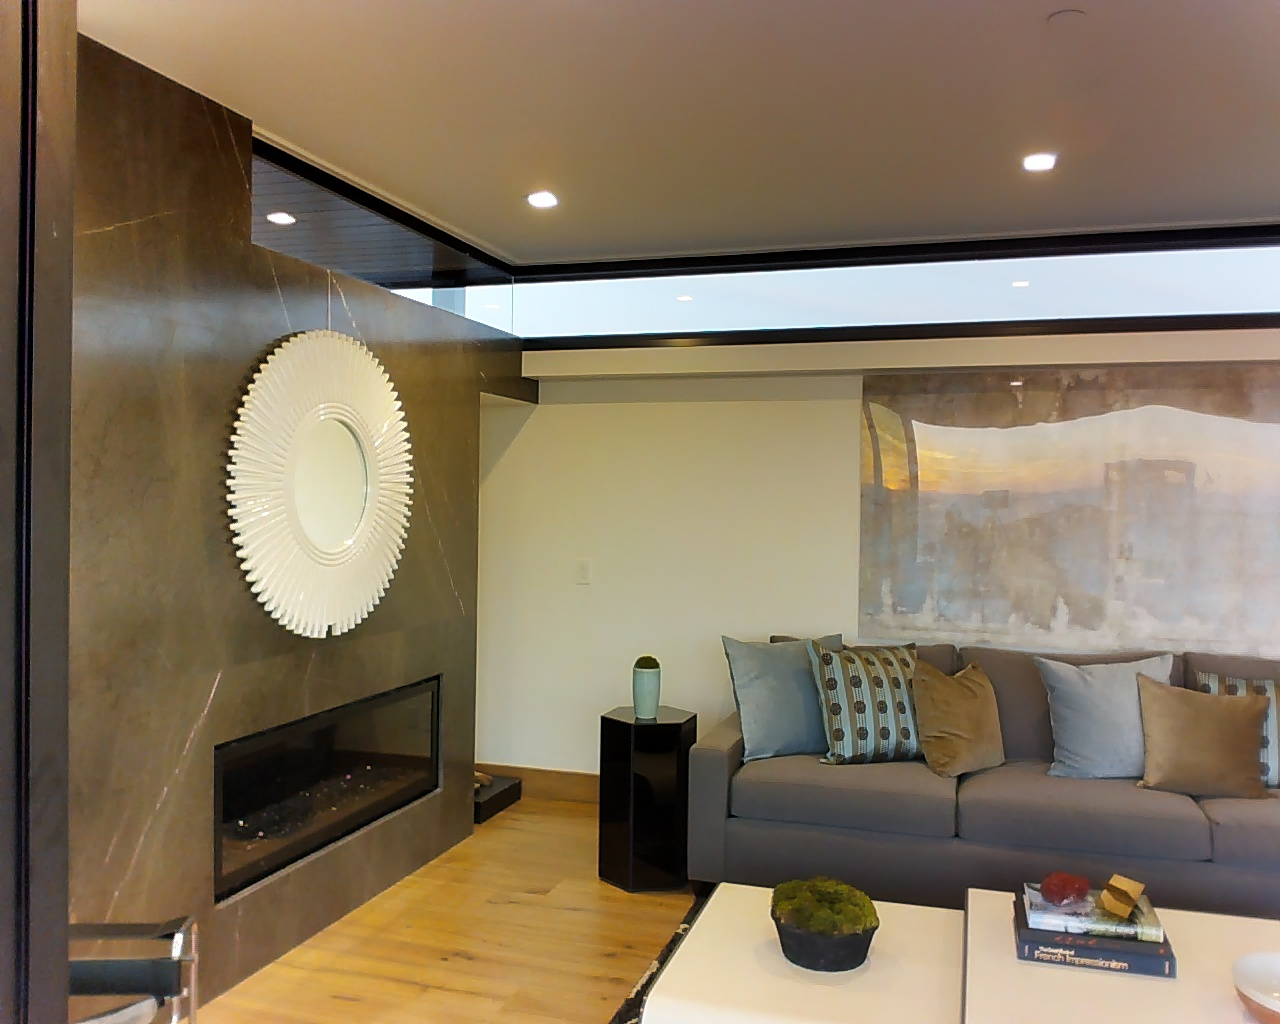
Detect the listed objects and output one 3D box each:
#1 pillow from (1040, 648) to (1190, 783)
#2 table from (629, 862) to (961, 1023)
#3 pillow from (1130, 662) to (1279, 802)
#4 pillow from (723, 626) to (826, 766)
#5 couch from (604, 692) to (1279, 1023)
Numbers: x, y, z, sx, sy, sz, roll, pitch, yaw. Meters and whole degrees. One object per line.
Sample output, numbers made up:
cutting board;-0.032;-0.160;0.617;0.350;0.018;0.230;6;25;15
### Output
pillow;1.840;0.780;4.210;0.480;0.430;0.350;1;1;15
table;0.500;1.360;3.070;0.780;0.300;1.060;1;1;17
pillow;2.120;0.800;3.970;0.540;0.420;0.290;1;1;19
pillow;0.560;0.750;4.470;0.400;0.500;0.370;1;1;8
couch;2.000;1.220;3.700;3.820;0.620;1.890;1;1;18
